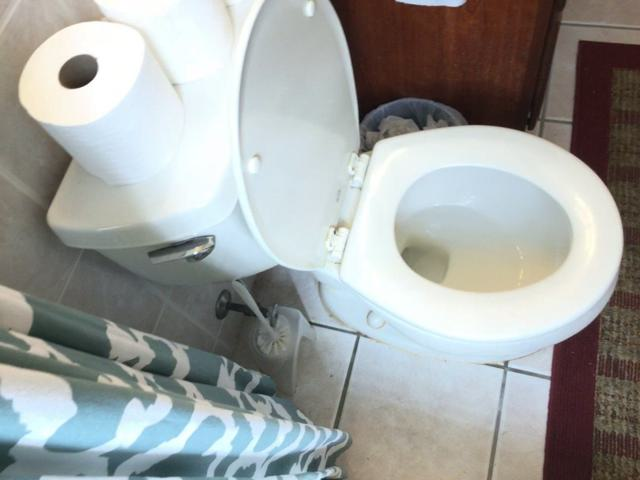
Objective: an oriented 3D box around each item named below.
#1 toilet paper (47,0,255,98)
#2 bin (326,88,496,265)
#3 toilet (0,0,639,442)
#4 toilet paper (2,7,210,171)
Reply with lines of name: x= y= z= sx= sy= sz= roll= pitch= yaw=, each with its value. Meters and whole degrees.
toilet paper: x=-0.180 y=-0.260 z=0.650 sx=0.150 sy=0.120 sz=0.140 roll=9 pitch=68 yaw=16
bin: x=0.200 y=-0.130 z=1.220 sx=0.280 sy=0.250 sz=0.250 roll=9 pitch=68 yaw=16
toilet: x=0.120 y=-0.050 z=0.910 sx=0.690 sy=0.780 sz=0.480 roll=9 pitch=68 yaw=16
toilet paper: x=-0.220 y=-0.160 z=0.620 sx=0.140 sy=0.120 sz=0.110 roll=9 pitch=68 yaw=16
